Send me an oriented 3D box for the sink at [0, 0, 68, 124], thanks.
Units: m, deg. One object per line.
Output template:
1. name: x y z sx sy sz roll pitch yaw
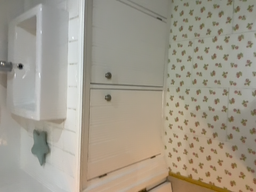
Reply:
1. sink: -0.500 -0.160 1.080 0.450 0.140 0.530 4 93 42
